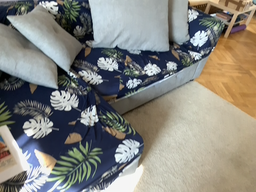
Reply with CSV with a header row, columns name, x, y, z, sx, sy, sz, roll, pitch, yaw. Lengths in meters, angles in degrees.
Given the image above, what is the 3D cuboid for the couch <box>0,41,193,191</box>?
name,x,y,z,sx,sy,sz,roll,pitch,yaw
couch,-0.300,0.270,1.120,1.040,0.790,0.500,-22,50,-34

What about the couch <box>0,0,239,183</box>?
name,x,y,z,sx,sy,sz,roll,pitch,yaw
couch,-0.220,-0.410,1.930,2.450,0.800,1.020,-23,51,-34
